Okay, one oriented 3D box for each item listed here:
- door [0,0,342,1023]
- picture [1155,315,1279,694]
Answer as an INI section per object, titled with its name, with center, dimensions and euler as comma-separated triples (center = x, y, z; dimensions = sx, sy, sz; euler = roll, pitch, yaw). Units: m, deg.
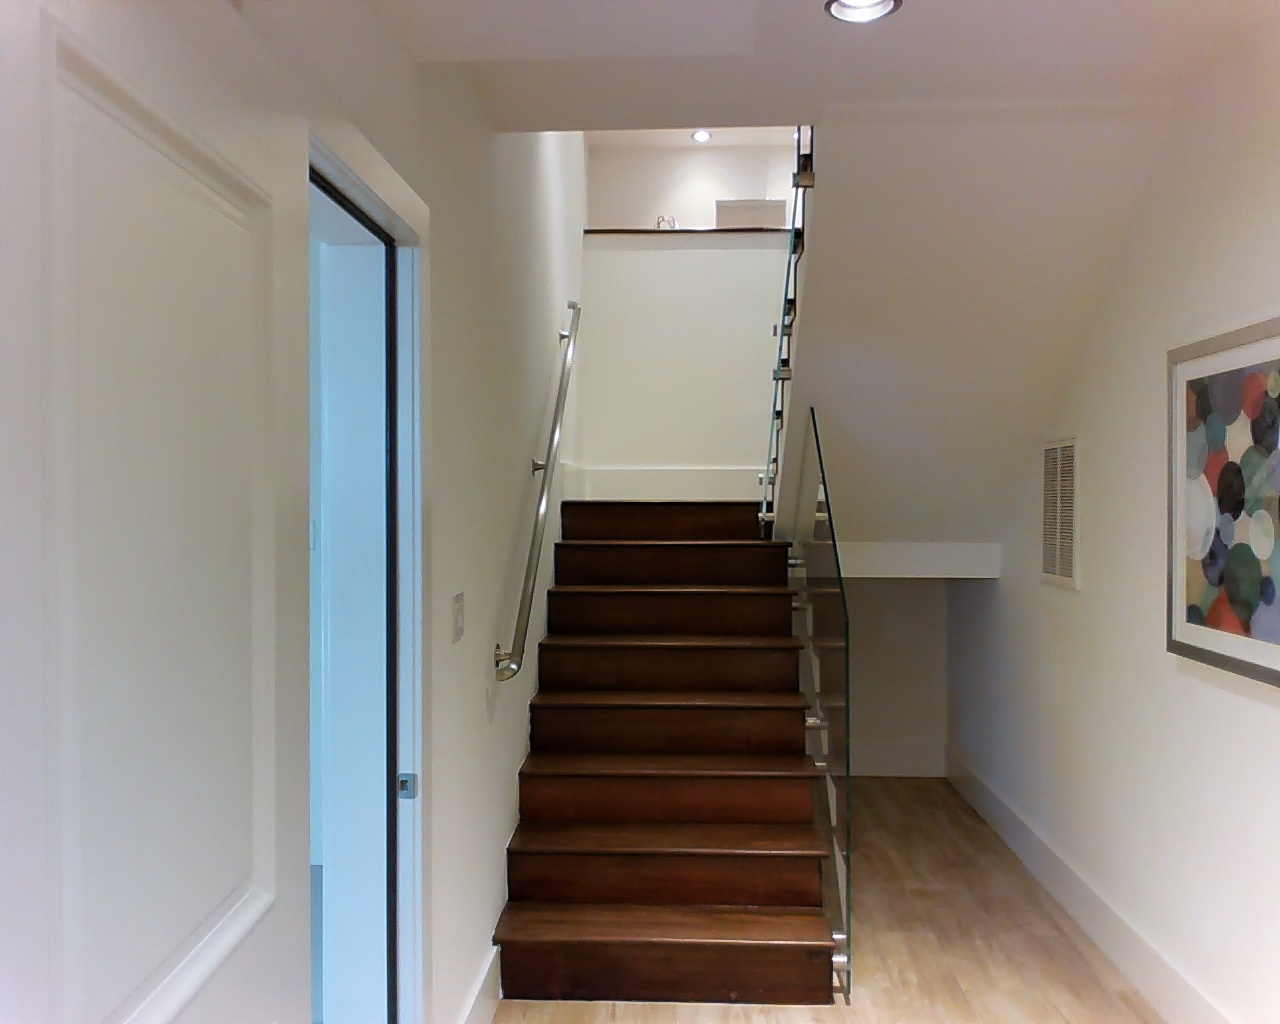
[door]
center = -0.490, 0.420, 1.120
dimensions = 0.090, 2.180, 0.990
euler = 0, 1, -1
[picture]
center = 1.530, -0.020, 2.730
dimensions = 0.060, 0.880, 0.880
euler = 0, 1, 3
